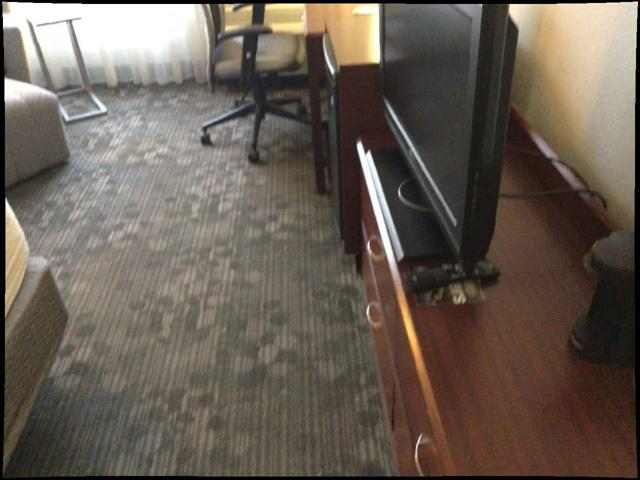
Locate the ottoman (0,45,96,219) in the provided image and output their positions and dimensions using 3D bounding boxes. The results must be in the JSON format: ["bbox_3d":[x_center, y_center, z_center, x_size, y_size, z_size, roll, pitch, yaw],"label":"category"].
[{"bbox_3d":[-1.718,-0.480,2.750,0.880,0.440,0.880,-28,46,-28],"label":"ottoman"}]
